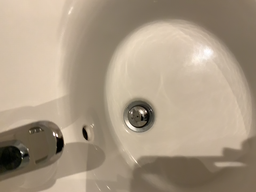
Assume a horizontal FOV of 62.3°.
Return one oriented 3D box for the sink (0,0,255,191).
[{"bbox_3d":[0.050,0.010,0.340,0.470,0.200,0.580,-19,83,11],"label":"sink"}]
